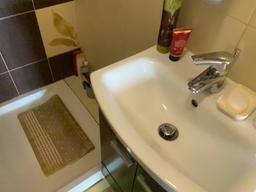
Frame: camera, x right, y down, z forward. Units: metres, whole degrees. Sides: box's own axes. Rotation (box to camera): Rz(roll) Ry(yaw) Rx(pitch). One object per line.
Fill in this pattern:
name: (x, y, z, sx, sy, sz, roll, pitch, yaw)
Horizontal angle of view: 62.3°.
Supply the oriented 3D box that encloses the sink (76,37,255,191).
sink: (0.140, 0.060, 0.630, 0.370, 0.130, 0.520, -26, 55, -25)
